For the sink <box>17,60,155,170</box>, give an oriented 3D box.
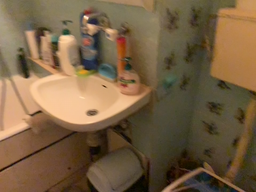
[{"bbox_3d":[-0.200,0.030,1.000,0.410,0.180,0.490,-26,38,-36],"label":"sink"}]
